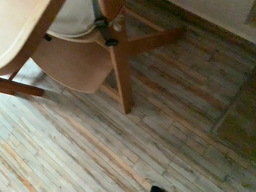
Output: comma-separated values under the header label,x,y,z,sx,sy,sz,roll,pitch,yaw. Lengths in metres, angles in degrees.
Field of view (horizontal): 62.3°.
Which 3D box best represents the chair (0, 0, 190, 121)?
label,x,y,z,sx,sy,sz,roll,pitch,yaw
chair,-0.160,-0.300,0.770,0.510,0.910,0.550,37,94,18
